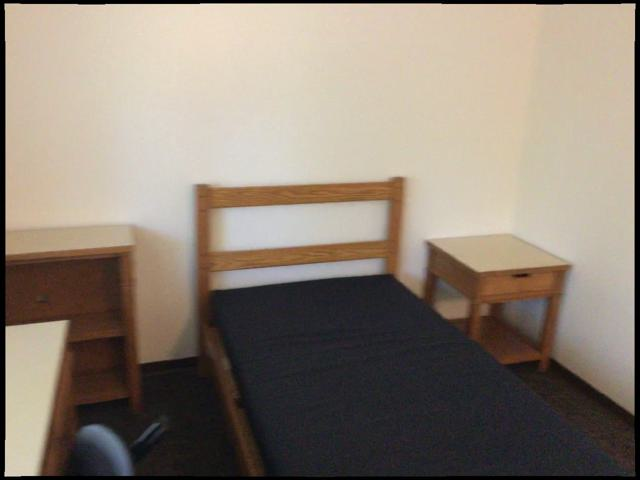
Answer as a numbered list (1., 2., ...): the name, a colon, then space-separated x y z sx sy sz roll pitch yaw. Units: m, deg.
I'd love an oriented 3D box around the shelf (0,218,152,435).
1. shelf: -1.148 0.341 2.380 0.828 0.751 0.410 -2 19 -15
